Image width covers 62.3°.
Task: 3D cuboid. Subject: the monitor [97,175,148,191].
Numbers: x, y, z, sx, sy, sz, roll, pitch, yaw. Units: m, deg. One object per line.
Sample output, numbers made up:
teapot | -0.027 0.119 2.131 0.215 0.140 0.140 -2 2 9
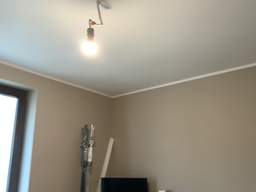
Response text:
monitor | -0.080 1.260 2.650 0.650 0.460 0.050 -1 -13 15
